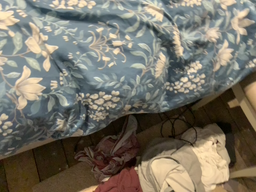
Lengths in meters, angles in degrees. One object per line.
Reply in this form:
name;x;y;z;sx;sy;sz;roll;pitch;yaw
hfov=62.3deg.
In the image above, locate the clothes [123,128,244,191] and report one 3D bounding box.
clothes;0.260;0.420;1.030;0.440;0.170;0.350;-20;71;-18
